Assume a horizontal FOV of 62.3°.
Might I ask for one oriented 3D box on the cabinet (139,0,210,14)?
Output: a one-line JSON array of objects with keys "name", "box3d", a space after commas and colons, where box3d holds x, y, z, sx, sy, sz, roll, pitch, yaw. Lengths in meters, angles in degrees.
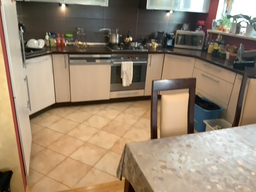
[{"name": "cabinet", "box3d": [0.780, -1.560, 3.530, 1.130, 0.290, 0.300, -4, 24, -19]}]
